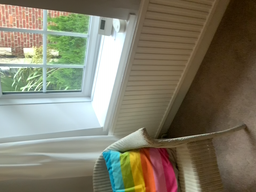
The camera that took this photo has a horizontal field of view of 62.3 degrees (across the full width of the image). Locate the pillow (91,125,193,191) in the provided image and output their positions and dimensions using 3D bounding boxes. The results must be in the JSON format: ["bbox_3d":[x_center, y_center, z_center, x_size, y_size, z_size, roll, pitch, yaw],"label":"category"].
[{"bbox_3d":[0.080,0.480,1.310,0.400,0.450,0.150,55,173,-1],"label":"pillow"}]

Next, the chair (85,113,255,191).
[{"bbox_3d":[0.220,0.520,1.320,0.670,0.770,0.650,144,120,-61],"label":"chair"}]
